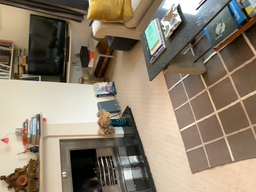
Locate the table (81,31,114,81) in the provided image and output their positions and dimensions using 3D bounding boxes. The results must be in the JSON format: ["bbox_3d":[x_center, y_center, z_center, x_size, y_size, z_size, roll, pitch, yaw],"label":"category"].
[{"bbox_3d":[-0.600,-0.740,3.990,0.670,0.360,0.600,120,143,-44],"label":"table"}]

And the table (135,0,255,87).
[{"bbox_3d":[0.610,-0.630,1.460,1.450,0.460,0.510,134,133,-54],"label":"table"}]
